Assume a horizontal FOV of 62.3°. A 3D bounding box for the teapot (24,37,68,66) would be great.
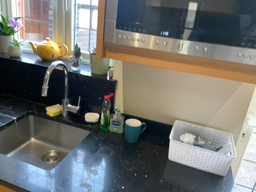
[{"bbox_3d":[-0.560,-0.310,1.460,0.230,0.140,0.160,13,22,15],"label":"teapot"}]
